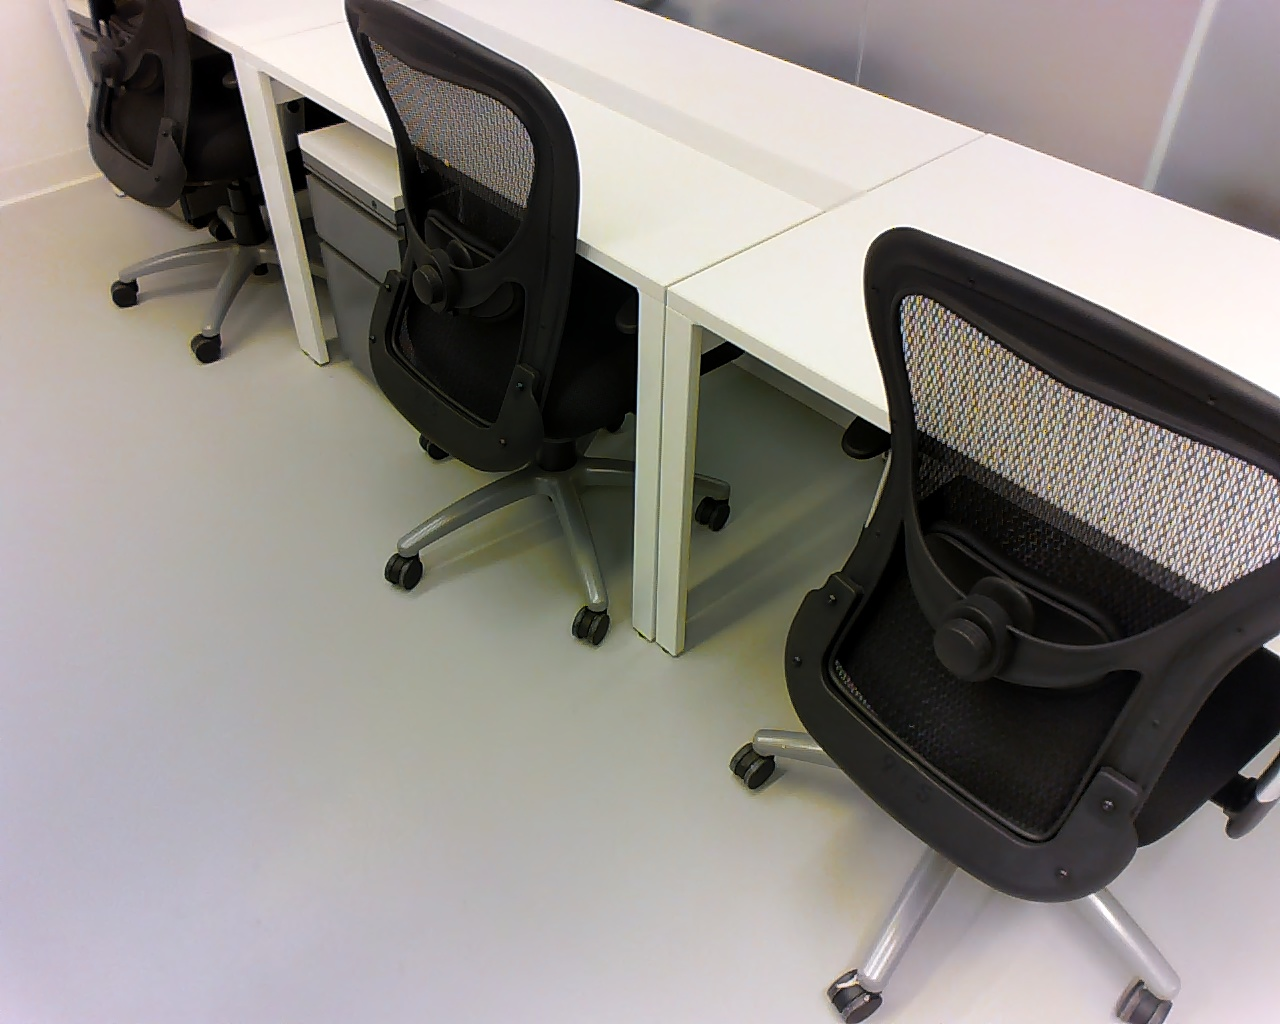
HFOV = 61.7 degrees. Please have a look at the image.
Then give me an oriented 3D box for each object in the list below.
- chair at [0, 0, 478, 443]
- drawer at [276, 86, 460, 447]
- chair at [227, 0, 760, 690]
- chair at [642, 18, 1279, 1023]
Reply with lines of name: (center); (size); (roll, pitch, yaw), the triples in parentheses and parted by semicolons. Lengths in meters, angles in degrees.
chair: (-1.030, -0.890, 2.570); (0.570, 0.800, 1.260); (-31, 50, -30)
drawer: (-0.560, -0.500, 2.240); (0.050, 0.640, 0.440); (-31, 50, -30)
chair: (-0.200, -0.310, 1.790); (0.530, 1.020, 0.490); (-31, 50, -30)
chair: (0.530, 0.100, 1.330); (0.720, 1.030, 0.770); (-34, 52, -32)
